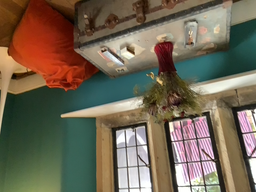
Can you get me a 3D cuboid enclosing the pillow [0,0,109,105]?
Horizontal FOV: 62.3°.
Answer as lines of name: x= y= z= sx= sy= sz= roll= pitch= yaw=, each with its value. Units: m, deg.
pillow: x=-0.710 y=-0.290 z=1.730 sx=0.840 sy=0.410 sz=0.750 roll=-12 pitch=159 yaw=21
